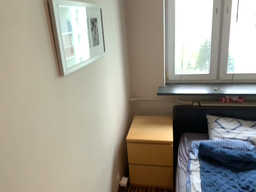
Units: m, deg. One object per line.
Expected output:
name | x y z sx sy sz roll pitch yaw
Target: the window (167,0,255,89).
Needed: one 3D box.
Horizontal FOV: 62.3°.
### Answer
window | 1.110 -0.740 2.040 1.440 1.360 0.160 1 20 13
